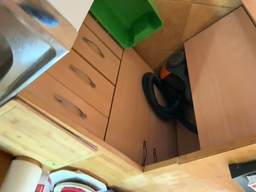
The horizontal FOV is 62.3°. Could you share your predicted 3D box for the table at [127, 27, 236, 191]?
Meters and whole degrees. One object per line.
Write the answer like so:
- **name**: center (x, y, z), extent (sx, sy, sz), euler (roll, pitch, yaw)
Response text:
- **table**: center (0.300, 0.090, 1.240), extent (0.260, 0.910, 0.520), euler (-27, 127, 30)
